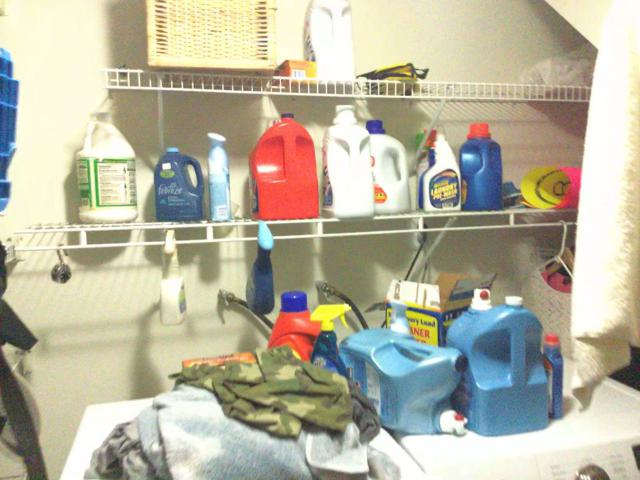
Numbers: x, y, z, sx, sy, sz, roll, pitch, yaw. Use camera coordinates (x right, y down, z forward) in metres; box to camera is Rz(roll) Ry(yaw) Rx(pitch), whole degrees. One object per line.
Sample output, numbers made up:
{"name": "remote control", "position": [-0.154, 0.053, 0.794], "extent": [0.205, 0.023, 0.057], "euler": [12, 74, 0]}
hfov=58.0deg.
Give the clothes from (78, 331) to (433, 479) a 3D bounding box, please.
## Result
{"name": "clothes", "position": [-0.130, 0.340, 1.130], "extent": [0.590, 0.210, 0.350], "euler": [-1, 5, -16]}
